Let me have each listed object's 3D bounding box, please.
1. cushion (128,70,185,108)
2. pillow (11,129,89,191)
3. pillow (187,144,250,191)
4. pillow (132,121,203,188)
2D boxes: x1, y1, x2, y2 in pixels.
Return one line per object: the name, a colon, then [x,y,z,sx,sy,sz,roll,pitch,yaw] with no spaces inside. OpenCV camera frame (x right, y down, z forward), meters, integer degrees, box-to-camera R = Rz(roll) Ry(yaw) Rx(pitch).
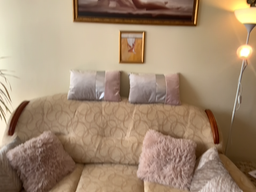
cushion: [0.250,-0.070,1.940,0.470,0.280,0.170,4,15,2]
pillow: [-0.580,0.480,1.570,0.480,0.370,0.150,-17,63,-39]
pillow: [0.590,0.570,1.480,0.210,0.230,0.510,4,15,1]
pillow: [0.300,0.470,1.680,0.380,0.380,0.210,32,43,2]
